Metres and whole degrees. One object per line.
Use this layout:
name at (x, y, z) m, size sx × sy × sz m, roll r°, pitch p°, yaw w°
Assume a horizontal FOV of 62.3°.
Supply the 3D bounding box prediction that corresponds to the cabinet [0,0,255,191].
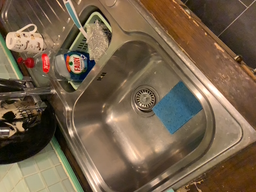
cabinet at (0.050, -0.210, 1.040) m, size 0.580 × 0.880 × 1.590 m, roll -47°, pitch 68°, yaw 28°
